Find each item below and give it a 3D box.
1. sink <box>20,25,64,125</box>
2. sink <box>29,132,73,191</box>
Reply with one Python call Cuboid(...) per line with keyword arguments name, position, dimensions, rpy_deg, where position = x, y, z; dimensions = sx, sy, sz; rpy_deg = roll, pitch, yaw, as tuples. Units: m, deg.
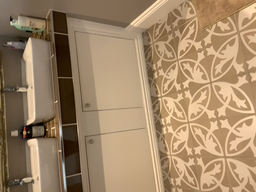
Cuboid(name="sink", position=(-0.630, -0.120, 1.510), dimensions=(0.420, 0.170, 0.590), rpy_deg=(-21, 74, 54))
Cuboid(name="sink", position=(-0.520, 0.560, 1.410), dimensions=(0.420, 0.160, 0.590), rpy_deg=(-21, 74, 54))
